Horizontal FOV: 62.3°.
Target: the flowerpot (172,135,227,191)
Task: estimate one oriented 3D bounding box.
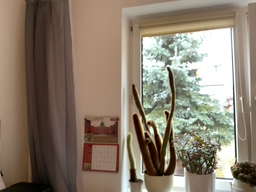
[{"bbox_3d":[0.500,0.520,1.520,0.340,0.450,0.210,-1,-5,14],"label":"flowerpot"}]
